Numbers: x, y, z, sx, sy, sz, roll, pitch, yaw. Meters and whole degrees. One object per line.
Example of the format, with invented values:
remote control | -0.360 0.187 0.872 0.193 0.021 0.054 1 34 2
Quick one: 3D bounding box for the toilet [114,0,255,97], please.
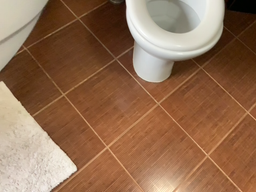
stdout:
toilet | 0.170 -0.480 0.850 0.370 0.810 0.700 5 68 -4
